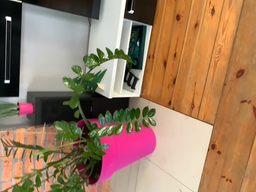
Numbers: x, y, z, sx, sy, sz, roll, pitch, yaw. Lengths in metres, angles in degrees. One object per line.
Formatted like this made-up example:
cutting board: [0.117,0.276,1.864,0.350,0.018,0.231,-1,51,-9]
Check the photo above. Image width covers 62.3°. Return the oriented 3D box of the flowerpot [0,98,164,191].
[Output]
flowerpot: [-0.310,0.300,1.530,0.440,1.100,0.460,20,107,50]

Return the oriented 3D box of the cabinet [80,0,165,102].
cabinet: [-0.030,-0.810,1.760,0.540,0.400,1.620,21,107,50]
